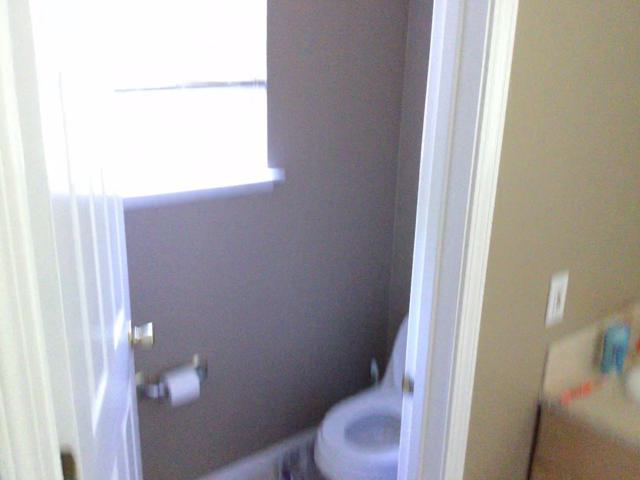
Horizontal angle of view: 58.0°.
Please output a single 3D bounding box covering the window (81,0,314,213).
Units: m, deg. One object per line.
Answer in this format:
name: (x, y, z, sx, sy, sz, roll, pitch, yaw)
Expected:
window: (-0.350, -0.610, 1.740, 0.640, 0.980, 0.230, -8, 18, -36)
